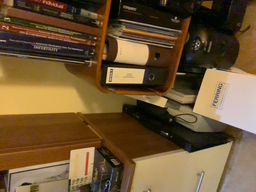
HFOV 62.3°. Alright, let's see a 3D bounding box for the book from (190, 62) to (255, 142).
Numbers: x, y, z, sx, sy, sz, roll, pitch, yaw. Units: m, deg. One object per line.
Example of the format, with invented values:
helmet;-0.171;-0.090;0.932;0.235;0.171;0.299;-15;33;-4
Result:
book;0.520;0.010;0.970;0.300;0.280;0.260;25;109;51
